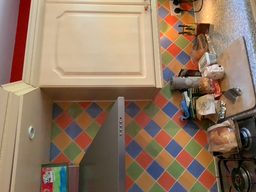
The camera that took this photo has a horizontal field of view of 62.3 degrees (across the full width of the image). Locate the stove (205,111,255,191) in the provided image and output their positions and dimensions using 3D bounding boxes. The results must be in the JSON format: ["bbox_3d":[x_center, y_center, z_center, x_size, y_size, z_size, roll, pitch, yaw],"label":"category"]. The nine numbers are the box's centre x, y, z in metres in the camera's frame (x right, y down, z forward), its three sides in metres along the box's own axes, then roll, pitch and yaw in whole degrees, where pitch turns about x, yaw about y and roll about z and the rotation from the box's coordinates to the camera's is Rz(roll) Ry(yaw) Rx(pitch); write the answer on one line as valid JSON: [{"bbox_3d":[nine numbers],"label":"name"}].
[{"bbox_3d":[0.600,0.460,1.200,0.500,0.030,0.660,105,164,-73],"label":"stove"}]
